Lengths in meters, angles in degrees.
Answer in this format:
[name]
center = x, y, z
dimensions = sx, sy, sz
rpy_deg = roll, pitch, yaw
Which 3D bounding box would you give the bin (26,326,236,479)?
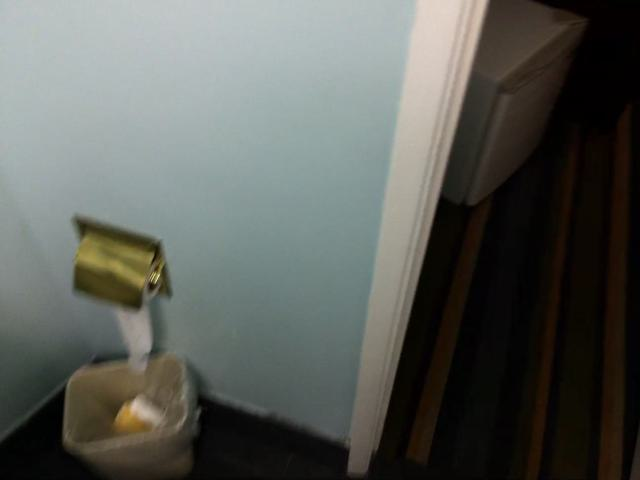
[bin]
center = -0.370, 0.390, 1.210
dimensions = 0.280, 0.280, 0.230
rpy_deg = 16, 51, 14

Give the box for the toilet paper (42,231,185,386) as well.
[toilet paper]
center = -0.350, 0.130, 1.020
dimensions = 0.140, 0.290, 0.090
rpy_deg = 16, 51, 14
